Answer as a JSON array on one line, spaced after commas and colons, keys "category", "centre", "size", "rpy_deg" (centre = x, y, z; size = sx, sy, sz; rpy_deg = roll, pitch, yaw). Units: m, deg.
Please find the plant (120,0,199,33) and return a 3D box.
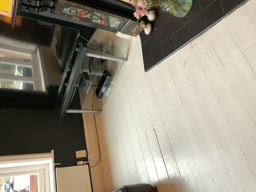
[{"category": "plant", "centre": [0.220, -0.790, 1.650], "size": [0.370, 0.440, 0.340], "rpy_deg": [-34, 59, 52]}]
